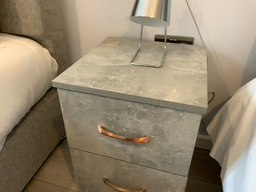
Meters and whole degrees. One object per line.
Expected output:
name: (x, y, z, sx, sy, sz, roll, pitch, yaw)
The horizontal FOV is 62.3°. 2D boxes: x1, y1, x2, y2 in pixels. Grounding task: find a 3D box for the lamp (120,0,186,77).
lamp: (0.090, -0.250, 0.680, 0.160, 0.280, 0.240, 10, 34, 14)
